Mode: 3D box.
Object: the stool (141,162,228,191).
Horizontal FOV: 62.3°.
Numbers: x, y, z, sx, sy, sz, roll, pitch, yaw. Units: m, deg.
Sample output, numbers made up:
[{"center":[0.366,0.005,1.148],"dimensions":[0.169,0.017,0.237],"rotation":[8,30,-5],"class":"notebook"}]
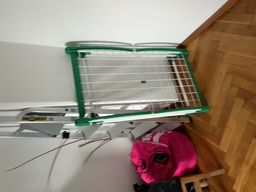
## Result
[{"center":[0.410,0.700,1.470],"dimensions":[0.300,0.480,0.340],"rotation":[-43,54,51],"class":"stool"}]
